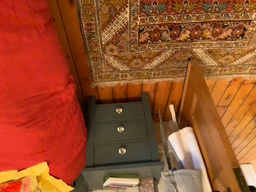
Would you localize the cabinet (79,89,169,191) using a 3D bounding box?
[{"bbox_3d":[-0.050,0.350,1.660,0.540,0.590,0.510,-4,142,-4],"label":"cabinet"}]
